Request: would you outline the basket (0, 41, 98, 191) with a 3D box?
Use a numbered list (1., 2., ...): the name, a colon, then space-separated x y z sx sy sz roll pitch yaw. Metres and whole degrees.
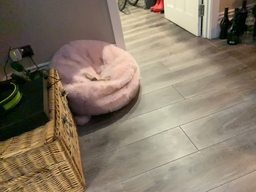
1. basket: -0.510 0.120 1.060 0.470 0.460 0.740 -19 37 -11
